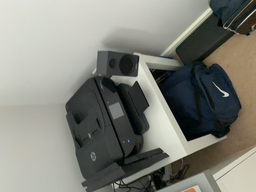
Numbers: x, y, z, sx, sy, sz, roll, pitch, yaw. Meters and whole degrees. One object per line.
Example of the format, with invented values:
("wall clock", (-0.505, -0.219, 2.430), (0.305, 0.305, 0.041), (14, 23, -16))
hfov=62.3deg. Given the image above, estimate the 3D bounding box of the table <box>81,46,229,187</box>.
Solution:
("table", (0.130, 0.130, 1.290), (0.560, 0.460, 0.560), (-40, 64, 38))
